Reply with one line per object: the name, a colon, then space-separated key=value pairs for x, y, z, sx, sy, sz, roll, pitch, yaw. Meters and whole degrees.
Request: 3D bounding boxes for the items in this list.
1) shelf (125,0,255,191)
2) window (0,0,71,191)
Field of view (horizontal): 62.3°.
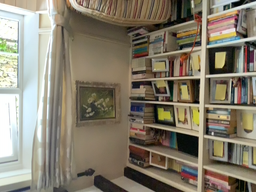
shelf: x=0.710 y=-0.330 z=1.790 sx=0.290 sy=2.330 sz=1.850 roll=1 pitch=-179 yaw=-40
window: x=-1.240 y=-0.220 z=1.690 sx=1.400 sy=2.130 sz=0.490 roll=1 pitch=-179 yaw=-39
